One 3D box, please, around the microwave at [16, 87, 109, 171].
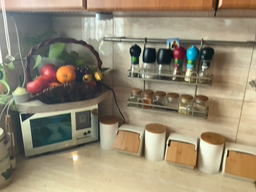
[{"bbox_3d":[-0.320,0.130,1.060,0.350,0.250,0.290,-12,22,-37],"label":"microwave"}]
